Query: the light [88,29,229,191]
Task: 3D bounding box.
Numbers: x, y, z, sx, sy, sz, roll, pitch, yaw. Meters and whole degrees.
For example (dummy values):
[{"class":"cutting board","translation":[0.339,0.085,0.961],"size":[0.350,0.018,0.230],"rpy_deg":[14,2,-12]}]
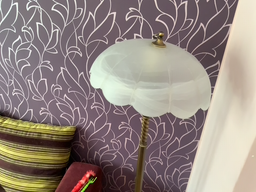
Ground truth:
[{"class":"light","translation":[0.070,0.450,1.170],"size":[0.450,1.490,0.350],"rpy_deg":[8,27,7]}]
